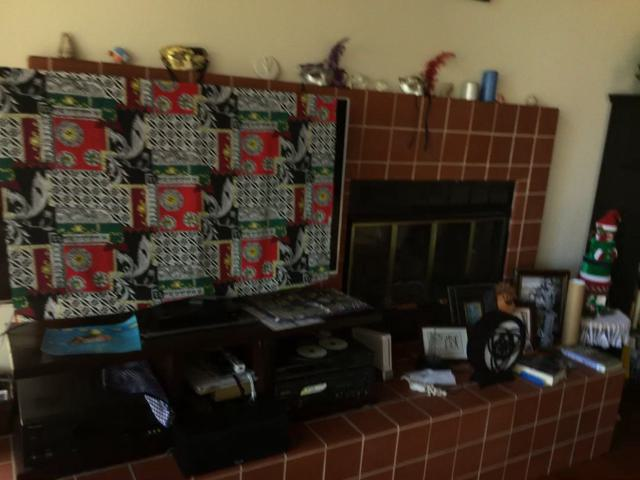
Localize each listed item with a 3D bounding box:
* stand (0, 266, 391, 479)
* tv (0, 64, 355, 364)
[{"bbox_3d":[-0.430,0.460,2.100,1.270,0.490,0.540,-8,10,-27],"label":"stand"},{"bbox_3d":[-0.470,-0.140,1.980,1.190,0.840,0.240,-8,10,-27],"label":"tv"}]
